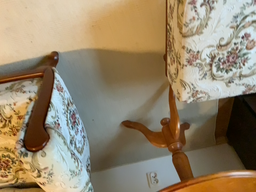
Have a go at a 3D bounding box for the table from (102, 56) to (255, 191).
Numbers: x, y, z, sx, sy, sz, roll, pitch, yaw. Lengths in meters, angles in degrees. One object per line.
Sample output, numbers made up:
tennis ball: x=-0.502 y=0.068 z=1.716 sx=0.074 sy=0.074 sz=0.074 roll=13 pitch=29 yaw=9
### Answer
table: x=0.240 y=0.280 z=1.030 sx=0.580 sy=0.620 sz=0.610 roll=-12 pitch=130 yaw=1
